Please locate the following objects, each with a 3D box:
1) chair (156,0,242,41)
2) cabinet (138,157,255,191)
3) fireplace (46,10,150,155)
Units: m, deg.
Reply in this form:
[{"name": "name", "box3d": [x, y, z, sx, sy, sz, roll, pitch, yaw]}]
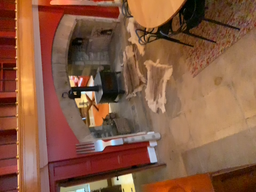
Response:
[{"name": "chair", "box3d": [0.850, -1.030, 2.600, 0.470, 0.800, 0.490, 148, 117, -65]}, {"name": "cabinet", "box3d": [0.910, 1.130, 2.470, 1.490, 1.010, 0.550, 130, 133, -59]}, {"name": "fireplace", "box3d": [-0.990, -0.350, 5.570, 1.480, 2.000, 3.240, 130, 132, -59]}]
